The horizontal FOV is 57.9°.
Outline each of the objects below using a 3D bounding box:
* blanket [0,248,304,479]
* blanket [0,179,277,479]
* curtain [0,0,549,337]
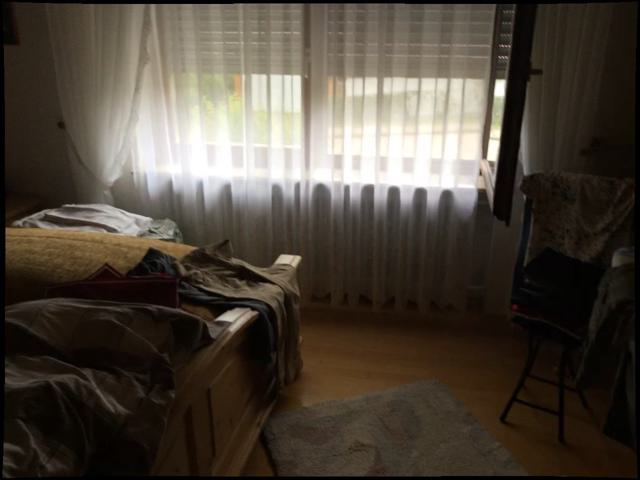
[{"bbox_3d":[-0.699,0.490,1.320,0.969,0.320,1.510,3,23,13],"label":"blanket"},{"bbox_3d":[-1.279,0.160,2.240,1.818,0.310,1.610,3,23,13],"label":"blanket"},{"bbox_3d":[-0.320,-0.751,2.840,2.598,2.332,0.380,3,23,13],"label":"curtain"}]
